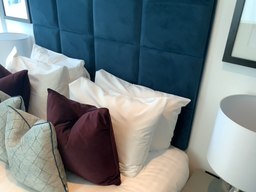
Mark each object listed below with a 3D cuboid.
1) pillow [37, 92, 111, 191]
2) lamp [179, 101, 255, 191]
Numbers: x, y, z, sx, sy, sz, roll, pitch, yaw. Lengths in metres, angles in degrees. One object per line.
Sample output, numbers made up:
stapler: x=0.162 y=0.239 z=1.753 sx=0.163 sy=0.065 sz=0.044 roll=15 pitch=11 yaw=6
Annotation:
pillow: x=-0.300 y=0.240 z=1.120 sx=0.390 sy=0.380 sz=0.140 roll=27 pitch=32 yaw=30
lamp: x=0.520 y=0.360 z=1.010 sx=0.380 sy=0.480 sz=0.380 roll=21 pitch=32 yaw=33
